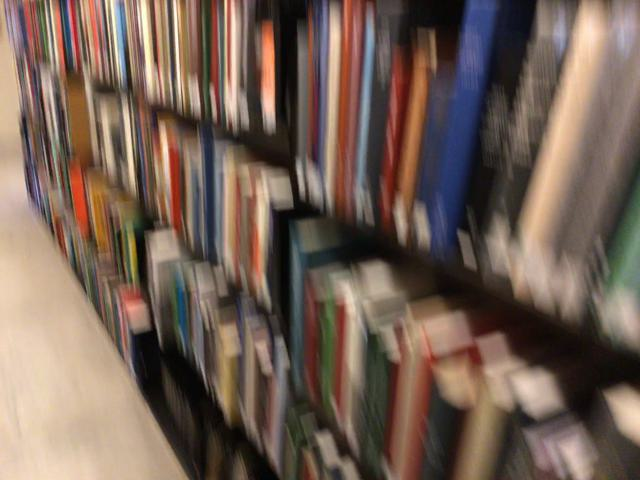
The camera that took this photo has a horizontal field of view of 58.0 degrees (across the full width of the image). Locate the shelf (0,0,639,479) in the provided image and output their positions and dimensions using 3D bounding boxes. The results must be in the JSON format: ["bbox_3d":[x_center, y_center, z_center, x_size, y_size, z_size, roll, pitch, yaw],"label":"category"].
[{"bbox_3d":[-0.460,-0.250,1.740,0.450,1.830,5.350,-12,28,-31],"label":"shelf"}]
